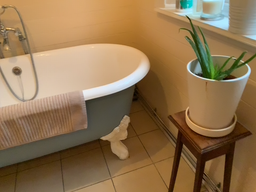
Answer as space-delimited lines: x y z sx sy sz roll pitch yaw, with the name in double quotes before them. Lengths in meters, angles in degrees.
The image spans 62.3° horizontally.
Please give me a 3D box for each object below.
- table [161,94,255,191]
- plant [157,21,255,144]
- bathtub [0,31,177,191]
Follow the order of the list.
"table" 0.340 0.350 1.010 0.250 0.630 0.260 -15 34 -17
"plant" 0.290 -0.070 0.800 0.240 0.320 0.300 -16 34 -18
"bathtub" -0.700 0.150 1.410 1.790 0.670 0.840 -15 34 -16
